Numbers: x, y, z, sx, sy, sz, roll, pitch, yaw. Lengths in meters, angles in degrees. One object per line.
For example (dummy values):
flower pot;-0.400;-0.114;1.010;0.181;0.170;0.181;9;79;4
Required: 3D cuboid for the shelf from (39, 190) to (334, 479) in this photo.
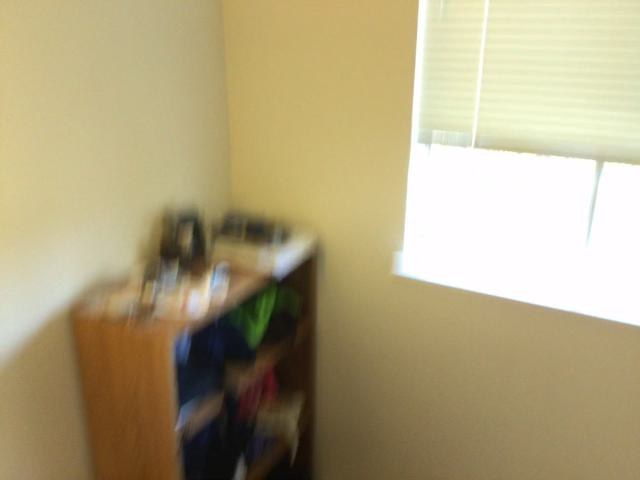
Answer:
shelf;-0.290;0.440;1.640;0.340;1.020;0.690;8;20;30
